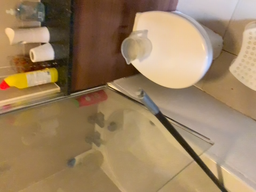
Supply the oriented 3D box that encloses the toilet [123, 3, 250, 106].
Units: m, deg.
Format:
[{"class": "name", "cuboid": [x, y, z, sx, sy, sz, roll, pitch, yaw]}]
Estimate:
[{"class": "toilet", "cuboid": [0.320, -0.280, 1.260, 0.490, 0.430, 0.380, 36, 128, 34]}]
